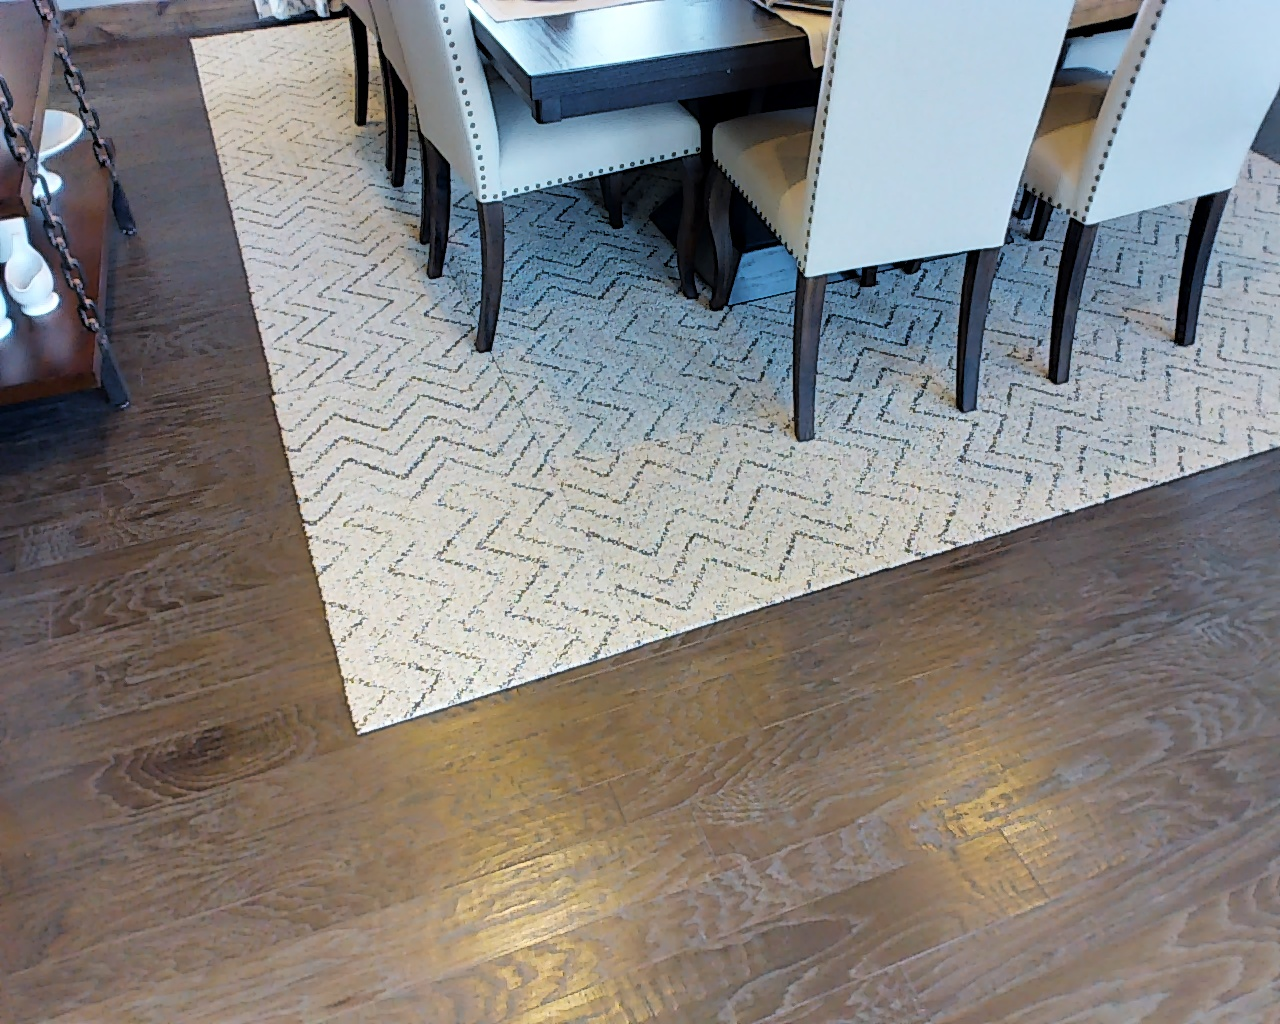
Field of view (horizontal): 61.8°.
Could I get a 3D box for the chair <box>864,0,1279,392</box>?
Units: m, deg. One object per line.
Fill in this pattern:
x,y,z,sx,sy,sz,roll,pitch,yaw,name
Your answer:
0.990,-0.920,2.340,0.590,0.990,0.690,-15,44,-16,chair

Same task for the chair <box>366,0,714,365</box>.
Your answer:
-0.220,-0.930,2.380,0.610,0.990,0.450,-18,45,-18,chair

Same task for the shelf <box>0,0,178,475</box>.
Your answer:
-1.460,-1.110,2.100,0.490,1.700,1.210,-15,44,-16,shelf

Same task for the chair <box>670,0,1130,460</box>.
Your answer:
0.450,-0.750,2.180,0.550,0.990,0.660,-15,44,-16,chair
